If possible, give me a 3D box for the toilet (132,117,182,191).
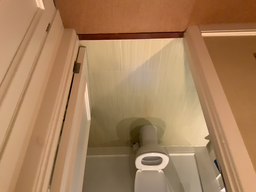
[{"bbox_3d":[0.270,0.750,2.390,0.420,0.760,0.690,-1,142,0],"label":"toilet"}]
